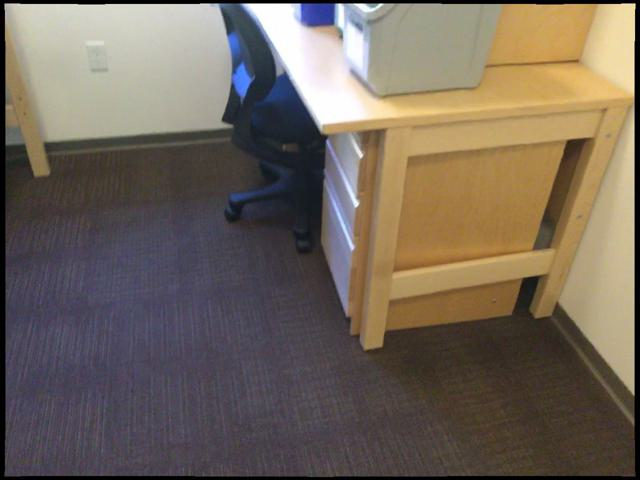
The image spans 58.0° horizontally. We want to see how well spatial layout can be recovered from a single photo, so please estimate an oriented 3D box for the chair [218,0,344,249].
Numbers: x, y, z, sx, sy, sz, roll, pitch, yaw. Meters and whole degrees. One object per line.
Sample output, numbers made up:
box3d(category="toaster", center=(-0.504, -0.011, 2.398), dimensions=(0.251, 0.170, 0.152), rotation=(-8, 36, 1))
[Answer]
box3d(category="chair", center=(-0.150, -0.461, 2.100), dimensions=(0.349, 0.871, 0.430), rotation=(-6, 37, -10))
